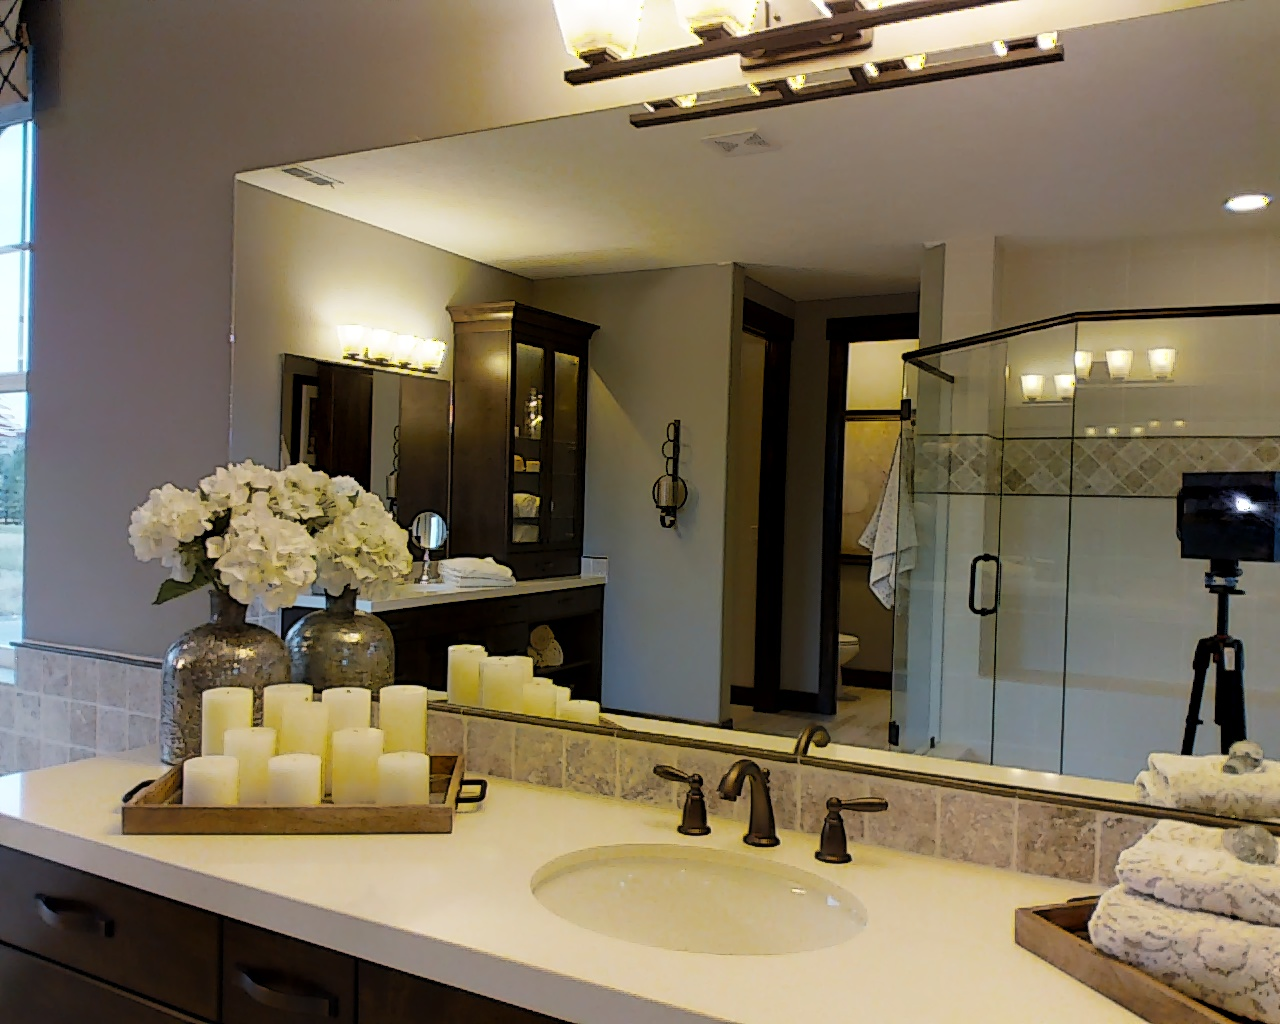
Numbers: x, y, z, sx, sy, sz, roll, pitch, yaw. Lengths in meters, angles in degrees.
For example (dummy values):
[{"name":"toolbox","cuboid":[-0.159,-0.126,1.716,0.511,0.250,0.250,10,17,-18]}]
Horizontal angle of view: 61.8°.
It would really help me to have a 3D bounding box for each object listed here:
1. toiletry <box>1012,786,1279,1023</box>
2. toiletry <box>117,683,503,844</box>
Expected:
[{"name":"toiletry","cuboid":[0.680,0.410,1.030,0.410,0.150,0.470,1,1,-16]},{"name":"toiletry","cuboid":[-0.470,0.370,1.630,0.500,0.160,0.330,1,1,-5]}]
